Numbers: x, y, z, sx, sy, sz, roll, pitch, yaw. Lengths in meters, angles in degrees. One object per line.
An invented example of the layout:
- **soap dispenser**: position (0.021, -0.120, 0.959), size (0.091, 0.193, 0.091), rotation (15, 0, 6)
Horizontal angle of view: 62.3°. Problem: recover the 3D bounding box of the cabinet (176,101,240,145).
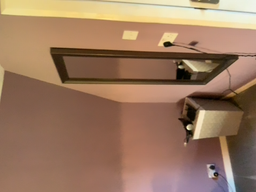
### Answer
- **cabinet**: position (0.890, 0.300, 2.410), size (0.250, 0.570, 0.430), rotation (-117, 29, -71)
